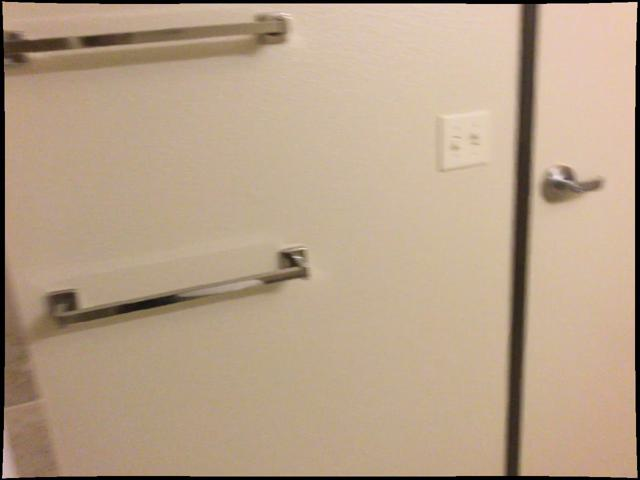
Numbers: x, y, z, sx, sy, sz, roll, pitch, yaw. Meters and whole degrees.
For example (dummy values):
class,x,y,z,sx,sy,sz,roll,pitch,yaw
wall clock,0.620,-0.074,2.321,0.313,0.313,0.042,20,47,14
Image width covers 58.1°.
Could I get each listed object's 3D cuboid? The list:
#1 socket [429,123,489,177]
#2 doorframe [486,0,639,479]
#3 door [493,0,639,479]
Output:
class,x,y,z,sx,sy,sz,roll,pitch,yaw
socket,0.309,-0.201,1.280,0.130,0.100,0.030,-11,20,-16
doorframe,0.898,-0.391,1.420,1.038,2.526,0.070,-11,20,-16
door,0.898,-0.361,1.420,0.998,2.466,0.060,-11,20,-16
